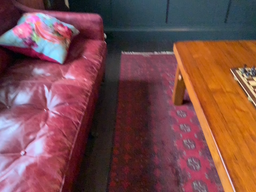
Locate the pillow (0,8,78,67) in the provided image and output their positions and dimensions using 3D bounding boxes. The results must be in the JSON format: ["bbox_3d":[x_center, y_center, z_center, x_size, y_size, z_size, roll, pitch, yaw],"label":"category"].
[{"bbox_3d":[-0.610,-0.430,1.520,0.410,0.260,0.400,-3,37,-3],"label":"pillow"}]
